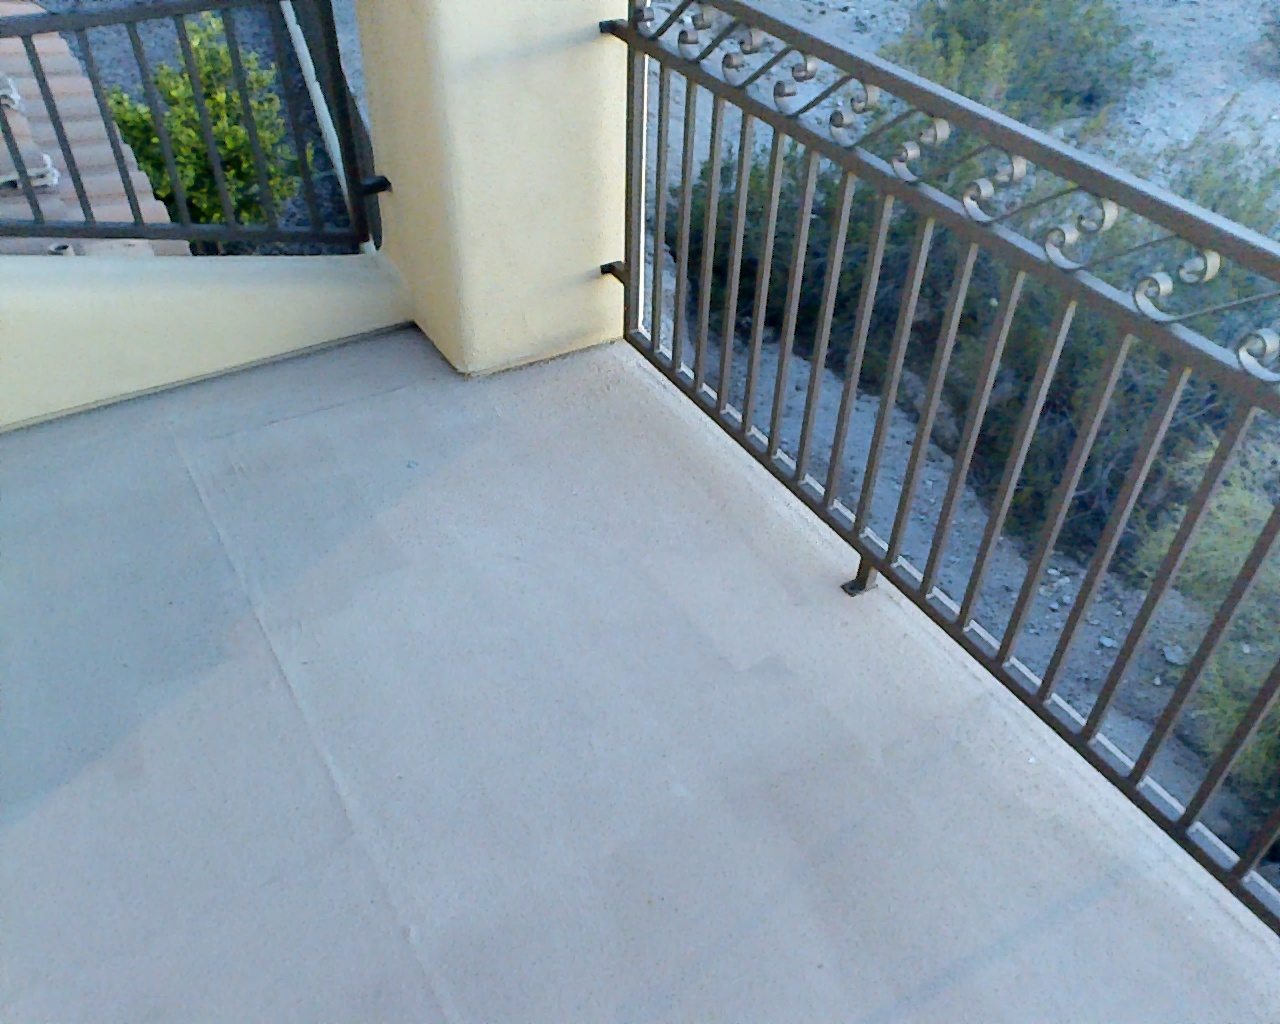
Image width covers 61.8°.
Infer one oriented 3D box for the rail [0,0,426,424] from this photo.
[{"bbox_3d":[-1.050,-0.840,2.450,0.980,1.110,0.170,-21,46,-23],"label":"rail"}]
